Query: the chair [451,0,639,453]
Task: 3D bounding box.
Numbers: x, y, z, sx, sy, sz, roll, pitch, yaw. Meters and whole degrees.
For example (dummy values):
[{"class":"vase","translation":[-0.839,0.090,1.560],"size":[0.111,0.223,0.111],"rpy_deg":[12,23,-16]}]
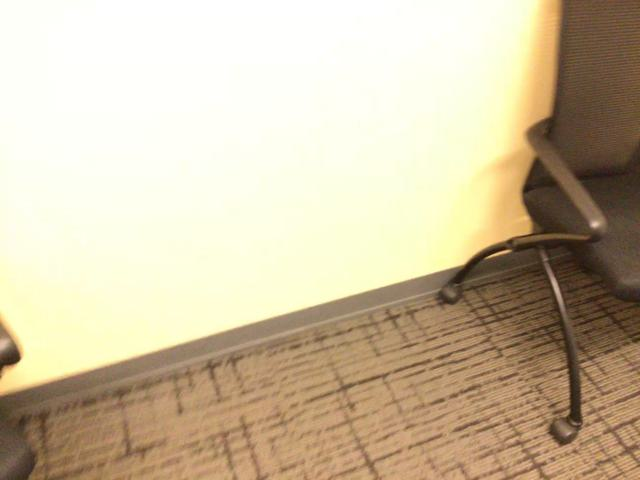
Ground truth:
[{"class":"chair","translation":[0.730,-0.080,1.310],"size":[0.570,0.910,0.480],"rpy_deg":[-13,38,-17]}]
